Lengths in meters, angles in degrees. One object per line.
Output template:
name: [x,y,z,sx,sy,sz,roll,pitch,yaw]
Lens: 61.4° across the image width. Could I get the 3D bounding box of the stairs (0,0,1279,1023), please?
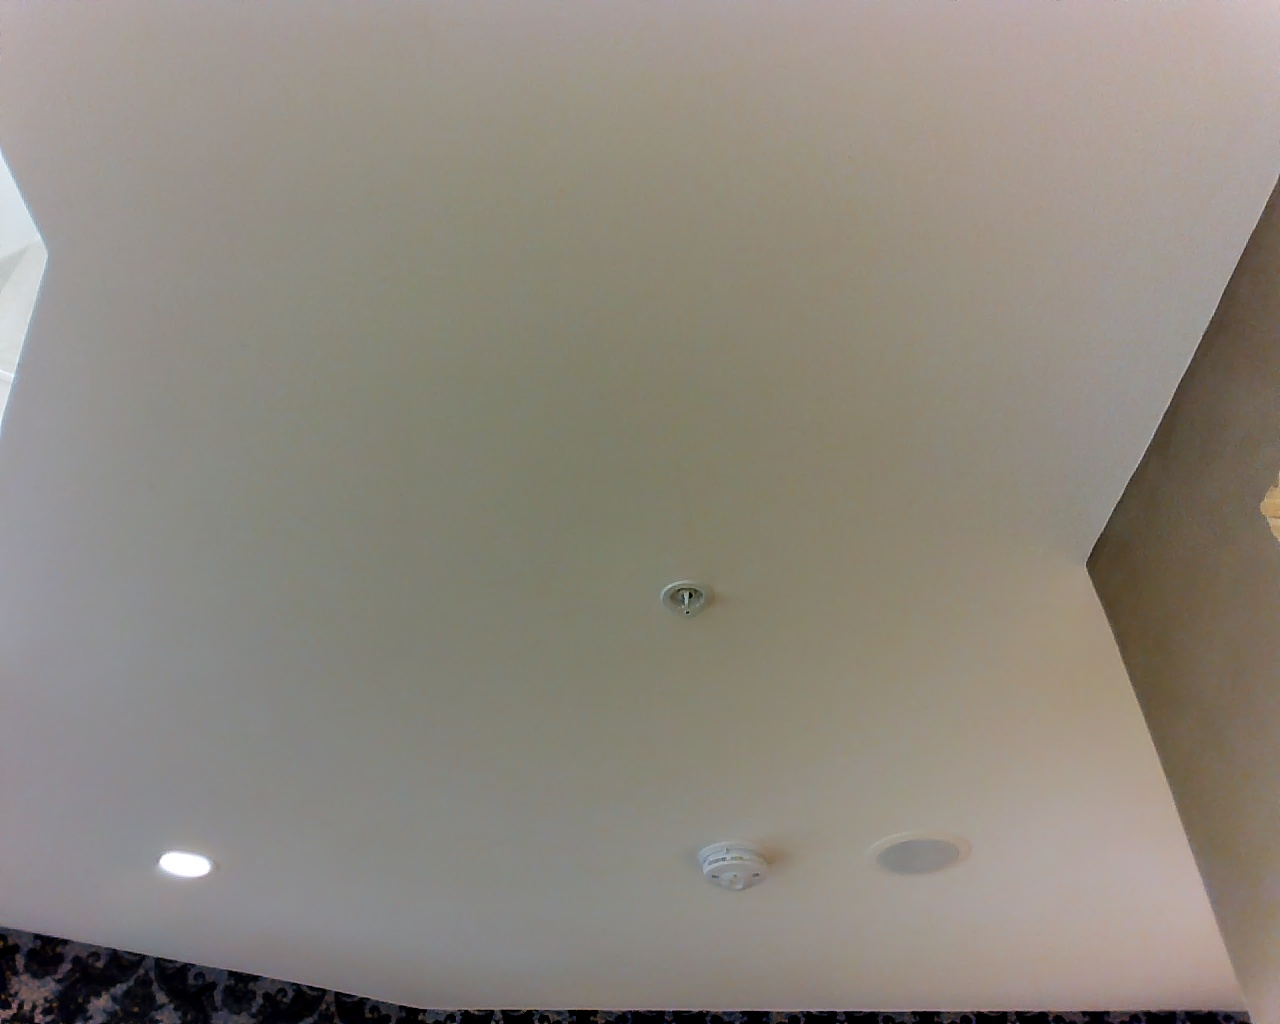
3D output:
stairs: [0.230,0.920,1.270,3.069,2.861,3.000,20,-45,-20]
